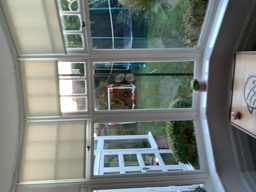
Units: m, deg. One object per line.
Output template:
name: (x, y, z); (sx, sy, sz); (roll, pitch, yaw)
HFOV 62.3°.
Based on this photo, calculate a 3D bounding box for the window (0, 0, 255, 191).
window: (-0.110, -0.070, 2.110); (1.460, 2.280, 2.960); (-113, 23, -77)
